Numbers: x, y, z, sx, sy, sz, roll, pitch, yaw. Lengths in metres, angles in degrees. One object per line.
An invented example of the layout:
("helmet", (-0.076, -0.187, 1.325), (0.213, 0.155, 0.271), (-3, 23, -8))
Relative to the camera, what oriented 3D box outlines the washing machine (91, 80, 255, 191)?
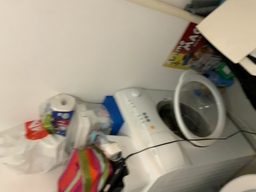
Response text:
("washing machine", (0.300, 0.320, 1.500), (0.540, 0.860, 0.620), (-63, 40, 34))
